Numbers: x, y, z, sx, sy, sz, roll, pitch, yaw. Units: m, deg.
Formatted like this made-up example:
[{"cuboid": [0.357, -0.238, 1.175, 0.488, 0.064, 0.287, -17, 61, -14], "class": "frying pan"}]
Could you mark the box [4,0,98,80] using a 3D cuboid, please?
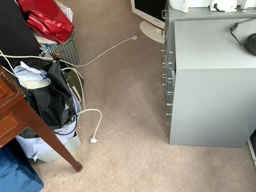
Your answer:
[{"cuboid": [-0.570, -0.520, 1.600, 0.320, 0.540, 0.530, -40, 60, -21], "class": "box"}]
